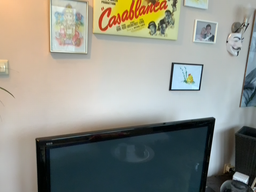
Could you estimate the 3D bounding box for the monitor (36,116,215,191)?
[{"bbox_3d":[0.060,0.480,1.160,1.020,0.670,0.040,-2,12,-28],"label":"monitor"}]
